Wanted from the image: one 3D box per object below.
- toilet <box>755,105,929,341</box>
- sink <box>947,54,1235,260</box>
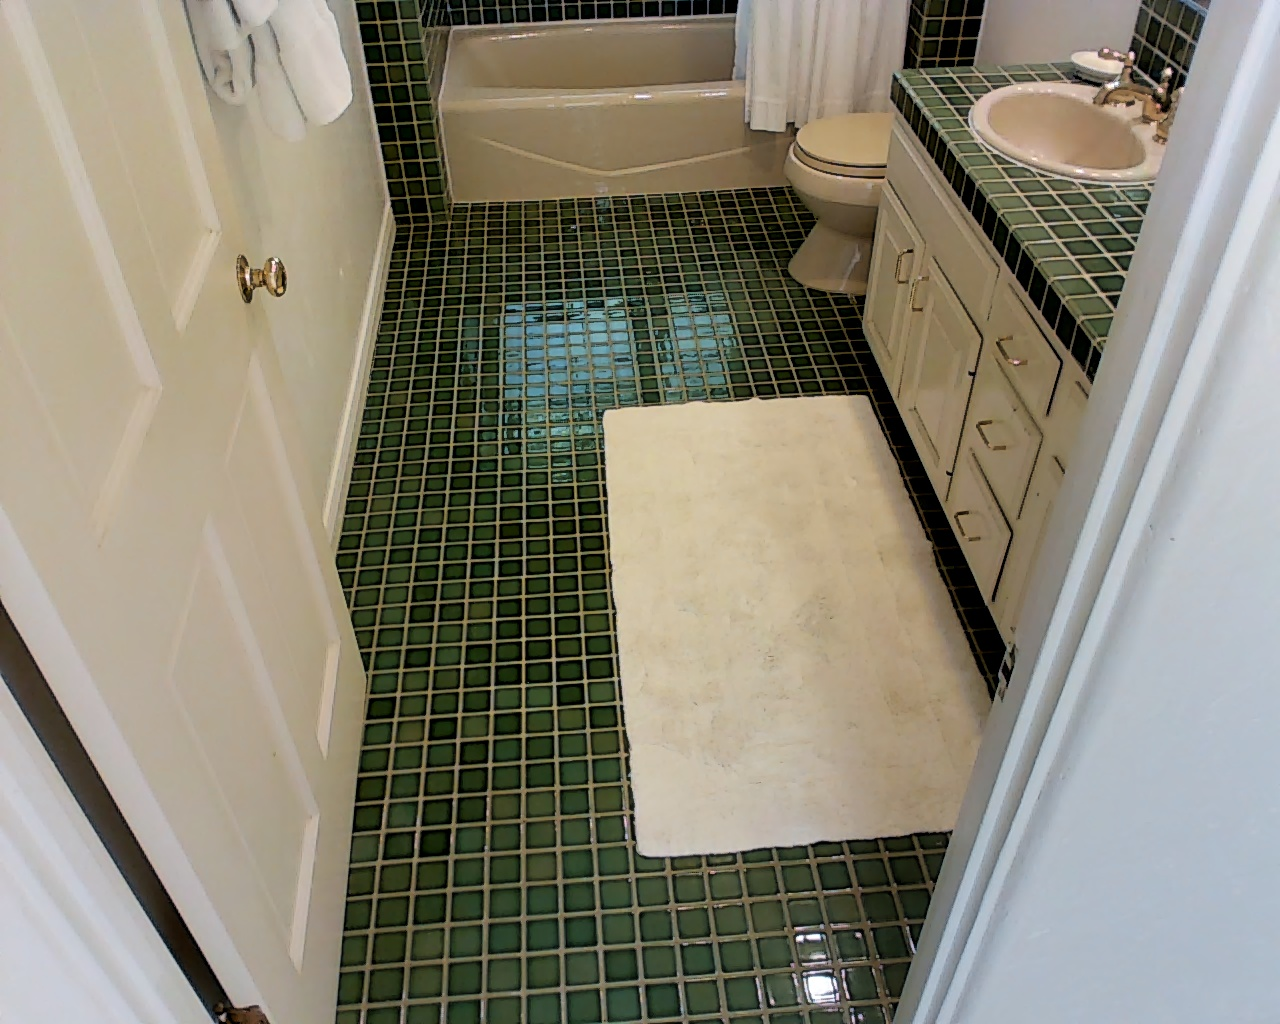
[{"bbox_3d":[0.560,-0.840,3.120,0.360,0.500,0.440,-4,41,-2],"label":"toilet"},{"bbox_3d":[0.880,-0.730,2.180,0.360,0.210,0.490,-2,41,-1],"label":"sink"}]
